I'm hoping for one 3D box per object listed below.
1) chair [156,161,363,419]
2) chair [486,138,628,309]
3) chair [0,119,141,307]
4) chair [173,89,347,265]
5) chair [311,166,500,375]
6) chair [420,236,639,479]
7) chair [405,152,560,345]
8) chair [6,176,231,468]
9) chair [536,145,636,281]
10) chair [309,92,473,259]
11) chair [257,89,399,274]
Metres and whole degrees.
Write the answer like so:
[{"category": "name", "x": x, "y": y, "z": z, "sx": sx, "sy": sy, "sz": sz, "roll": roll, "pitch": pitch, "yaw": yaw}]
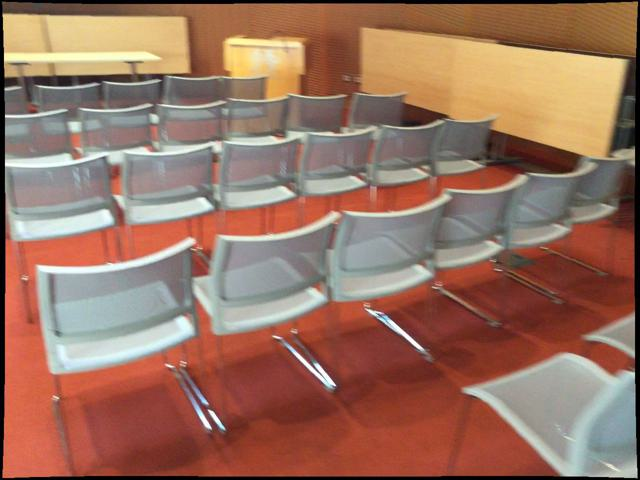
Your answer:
[{"category": "chair", "x": -0.250, "y": 0.160, "z": 2.250, "sx": 0.580, "sy": 0.721, "sz": 0.530, "roll": -12, "pitch": 33, "yaw": -26}, {"category": "chair", "x": 1.169, "y": -0.090, "z": 2.870, "sx": 0.630, "sy": 0.721, "sz": 0.170, "roll": -17, "pitch": 35, "yaw": -32}, {"category": "chair", "x": -1.239, "y": -0.150, "z": 2.900, "sx": 0.540, "sy": 0.761, "sz": 0.470, "roll": -8, "pitch": 31, "yaw": -19}, {"category": "chair", "x": -0.370, "y": -0.410, "z": 3.410, "sx": 0.710, "sy": 0.711, "sz": 0.730, "roll": -15, "pitch": 34, "yaw": -30}, {"category": "chair", "x": 0.330, "y": 0.120, "z": 2.380, "sx": 0.659, "sy": 0.741, "sz": 0.230, "roll": -10, "pitch": 32, "yaw": -23}, {"category": "chair", "x": 0.739, "y": 0.480, "z": 1.660, "sx": 0.570, "sy": 0.711, "sz": 0.580, "roll": -11, "pitch": 32, "yaw": -24}, {"category": "chair", "x": 0.729, "y": 0.030, "z": 2.640, "sx": 0.610, "sy": 0.741, "sz": 0.200, "roll": -16, "pitch": 35, "yaw": -31}, {"category": "chair", "x": -0.689, "y": 0.250, "z": 2.040, "sx": 0.570, "sy": 0.731, "sz": 0.530, "roll": -13, "pitch": 33, "yaw": -27}, {"category": "chair", "x": 1.399, "y": -0.140, "z": 3.060, "sx": 0.350, "sy": 0.671, "sz": 0.140, "roll": -14, "pitch": 33, "yaw": -28}, {"category": "chair", "x": 0.440, "y": -0.470, "z": 3.920, "sx": 0.729, "sy": 0.821, "sz": 0.720, "roll": -14, "pitch": 34, "yaw": -29}, {"category": "chair", "x": 0.010, "y": -0.400, "z": 3.680, "sx": 0.560, "sy": 0.891, "sz": 0.720, "roll": -13, "pitch": 33, "yaw": -28}]
